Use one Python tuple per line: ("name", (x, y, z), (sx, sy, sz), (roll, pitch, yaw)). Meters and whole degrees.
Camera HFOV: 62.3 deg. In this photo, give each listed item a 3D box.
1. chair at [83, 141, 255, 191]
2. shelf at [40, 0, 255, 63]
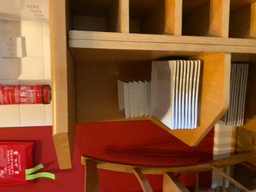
("chair", (0.240, 0.480, 0.890), (0.370, 0.820, 0.420), (-152, 62, -75))
("shelf", (0.210, -0.200, 0.720), (0.570, 0.860, 0.150), (-150, 60, -75))
